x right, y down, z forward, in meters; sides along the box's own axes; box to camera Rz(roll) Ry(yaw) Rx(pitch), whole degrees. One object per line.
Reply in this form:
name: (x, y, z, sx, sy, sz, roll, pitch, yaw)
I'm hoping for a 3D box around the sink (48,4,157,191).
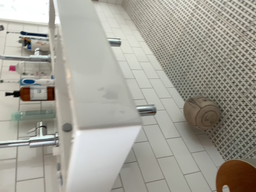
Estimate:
sink: (-0.170, 0.040, 0.770, 0.540, 0.190, 0.500, -114, 32, -41)
